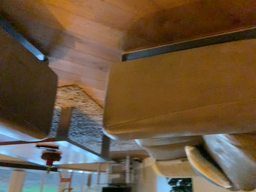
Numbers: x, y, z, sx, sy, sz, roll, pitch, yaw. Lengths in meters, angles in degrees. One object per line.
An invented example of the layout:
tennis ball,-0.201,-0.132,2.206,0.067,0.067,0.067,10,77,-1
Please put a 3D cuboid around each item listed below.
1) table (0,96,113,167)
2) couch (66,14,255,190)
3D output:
table,-1.070,0.560,2.670,1.330,0.420,1.350,-8,152,18
couch,0.540,0.360,1.850,1.160,0.760,1.830,-8,152,18
